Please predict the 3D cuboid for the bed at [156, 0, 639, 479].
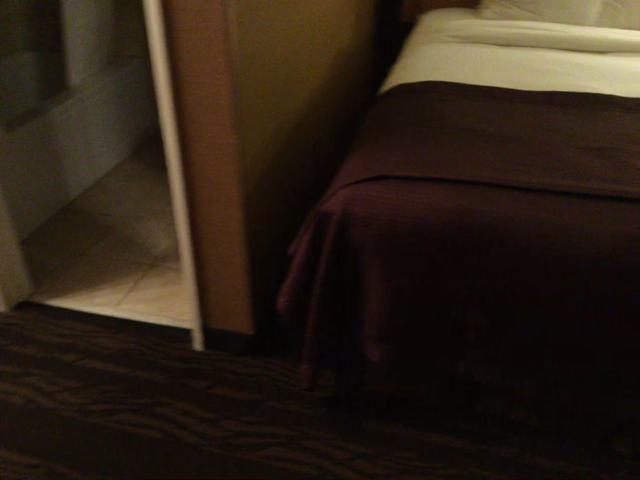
[{"bbox_3d":[0.880,-0.460,2.000,1.900,1.470,2.140,12,31,13],"label":"bed"}]
